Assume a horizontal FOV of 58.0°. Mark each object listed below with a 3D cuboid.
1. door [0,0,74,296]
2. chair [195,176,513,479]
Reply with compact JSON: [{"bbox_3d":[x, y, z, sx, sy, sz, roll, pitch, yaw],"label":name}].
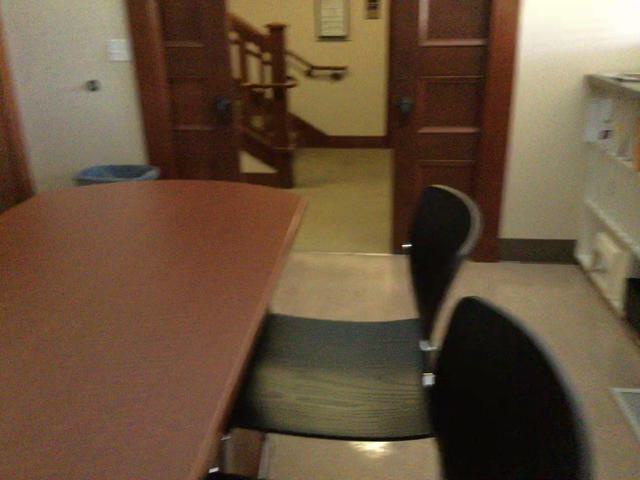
[{"bbox_3d":[-1.640,-0.600,2.960,0.110,1.620,0.760,2,21,7],"label":"door"},{"bbox_3d":[0.080,0.360,1.350,0.530,0.910,0.480,2,21,7],"label":"chair"}]
